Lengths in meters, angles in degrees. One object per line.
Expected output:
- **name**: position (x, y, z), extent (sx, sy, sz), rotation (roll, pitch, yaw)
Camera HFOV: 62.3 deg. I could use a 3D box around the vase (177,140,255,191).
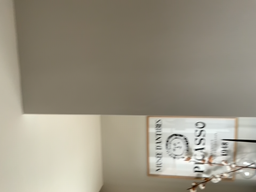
- **vase**: position (0.860, 0.670, 2.060), extent (0.260, 0.730, 0.390), rotation (-37, -53, -78)
